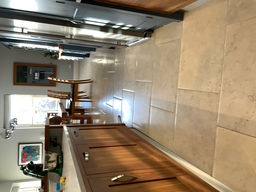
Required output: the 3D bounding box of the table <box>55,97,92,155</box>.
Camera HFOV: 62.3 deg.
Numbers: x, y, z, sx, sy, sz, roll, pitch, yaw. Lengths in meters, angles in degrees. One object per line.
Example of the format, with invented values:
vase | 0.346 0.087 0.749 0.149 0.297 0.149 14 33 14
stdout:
table | -1.720 0.760 6.350 2.070 0.790 1.230 -163 76 -68
